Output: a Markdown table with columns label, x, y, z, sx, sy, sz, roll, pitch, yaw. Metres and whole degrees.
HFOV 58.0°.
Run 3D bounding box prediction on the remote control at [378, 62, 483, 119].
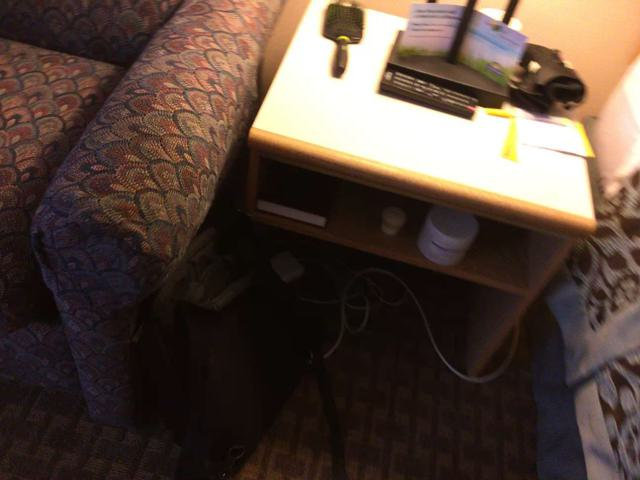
| label | x | y | z | sx | sy | sz | roll | pitch | yaw |
| --- | --- | --- | --- | --- | --- | --- | --- | --- | --- |
| remote control | 0.200 | -0.270 | 1.040 | 0.180 | 0.030 | 0.070 | 14 | 44 | 2 |
